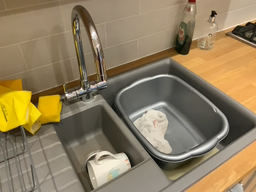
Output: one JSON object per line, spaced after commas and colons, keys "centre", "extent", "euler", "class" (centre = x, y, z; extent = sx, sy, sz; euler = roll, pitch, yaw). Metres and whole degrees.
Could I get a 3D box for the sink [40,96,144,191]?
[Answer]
{"centre": [-0.120, 0.170, 0.680], "extent": [0.200, 0.150, 0.290], "euler": [-23, 46, -24], "class": "sink"}
